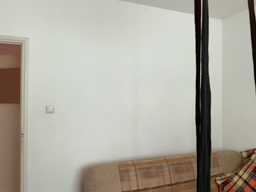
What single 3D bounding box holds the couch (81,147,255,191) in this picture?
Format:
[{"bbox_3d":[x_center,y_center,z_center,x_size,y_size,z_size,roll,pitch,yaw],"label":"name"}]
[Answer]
[{"bbox_3d":[0.580,1.100,2.030,1.890,0.860,0.910,1,0,-22],"label":"couch"}]
